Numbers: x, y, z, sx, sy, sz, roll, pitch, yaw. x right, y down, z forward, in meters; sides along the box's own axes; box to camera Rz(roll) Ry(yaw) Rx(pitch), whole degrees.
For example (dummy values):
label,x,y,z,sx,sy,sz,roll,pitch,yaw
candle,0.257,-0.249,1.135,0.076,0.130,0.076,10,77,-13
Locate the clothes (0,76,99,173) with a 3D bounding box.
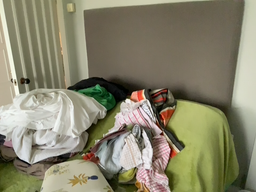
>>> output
label,x,y,z,sx,sy,sz,roll,pitch,yaw
clothes,-0.620,0.110,1.390,0.710,0.310,0.470,13,23,35
